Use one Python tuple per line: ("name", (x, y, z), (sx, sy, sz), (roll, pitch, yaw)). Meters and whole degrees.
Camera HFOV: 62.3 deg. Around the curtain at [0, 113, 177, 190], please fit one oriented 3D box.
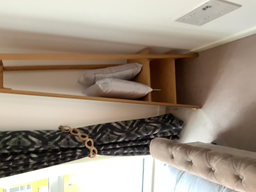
("curtain", (-0.700, 0.390, 1.550), (0.300, 2.490, 0.390), (-3, 88, 61))
